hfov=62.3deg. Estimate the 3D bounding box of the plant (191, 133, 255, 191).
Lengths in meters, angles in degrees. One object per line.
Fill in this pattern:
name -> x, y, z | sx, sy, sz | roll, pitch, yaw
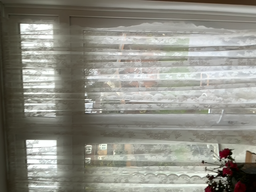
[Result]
plant -> 0.590, 0.480, 1.180 | 0.400, 0.310, 0.430 | -110, 21, -79
